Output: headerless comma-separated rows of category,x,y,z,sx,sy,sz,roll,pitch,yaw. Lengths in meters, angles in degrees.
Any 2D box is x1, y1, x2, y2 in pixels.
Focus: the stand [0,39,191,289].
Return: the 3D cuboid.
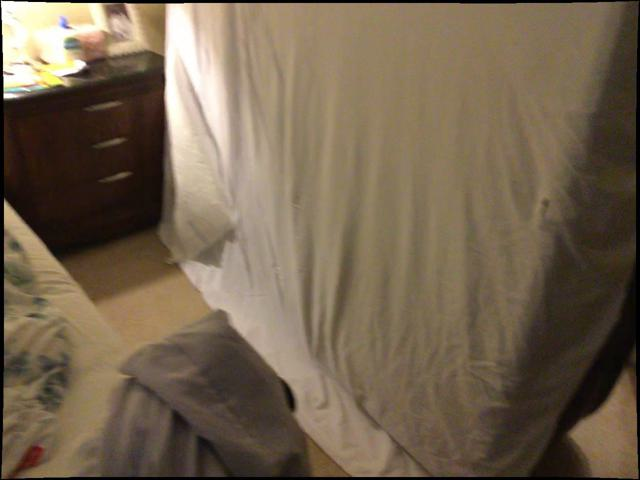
stand,-1.147,-0.381,2.540,0.899,0.731,0.570,-25,42,-34
